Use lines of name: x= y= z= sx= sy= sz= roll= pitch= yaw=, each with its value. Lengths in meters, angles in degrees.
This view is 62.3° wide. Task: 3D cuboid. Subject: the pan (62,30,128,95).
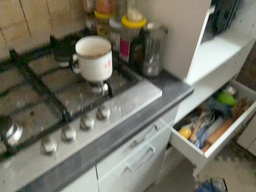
pan: x=-0.110 y=-0.120 z=0.720 sx=0.150 sy=0.110 sz=0.160 roll=-28 pitch=53 yaw=-28
